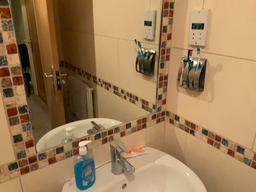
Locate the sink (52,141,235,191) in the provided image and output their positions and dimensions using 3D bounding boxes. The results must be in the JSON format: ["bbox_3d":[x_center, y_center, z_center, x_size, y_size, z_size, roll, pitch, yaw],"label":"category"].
[{"bbox_3d":[0.060,0.460,0.870,0.570,0.190,0.450,-14,26,-33],"label":"sink"}]

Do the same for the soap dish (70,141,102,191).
[{"bbox_3d":[-0.170,0.280,0.860,0.090,0.150,0.090,-14,26,-33],"label":"soap dish"}]
